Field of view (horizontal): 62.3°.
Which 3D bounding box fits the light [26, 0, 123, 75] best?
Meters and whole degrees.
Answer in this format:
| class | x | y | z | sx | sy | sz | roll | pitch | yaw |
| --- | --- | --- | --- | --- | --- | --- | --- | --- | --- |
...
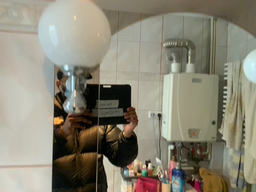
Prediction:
| class | x | y | z | sx | sy | sz | roll | pitch | yaw |
| --- | --- | --- | --- | --- | --- | --- | --- | --- | --- |
| light | -0.100 | -0.120 | 0.410 | 0.140 | 0.140 | 0.180 | 1 | 2 | -14 |
